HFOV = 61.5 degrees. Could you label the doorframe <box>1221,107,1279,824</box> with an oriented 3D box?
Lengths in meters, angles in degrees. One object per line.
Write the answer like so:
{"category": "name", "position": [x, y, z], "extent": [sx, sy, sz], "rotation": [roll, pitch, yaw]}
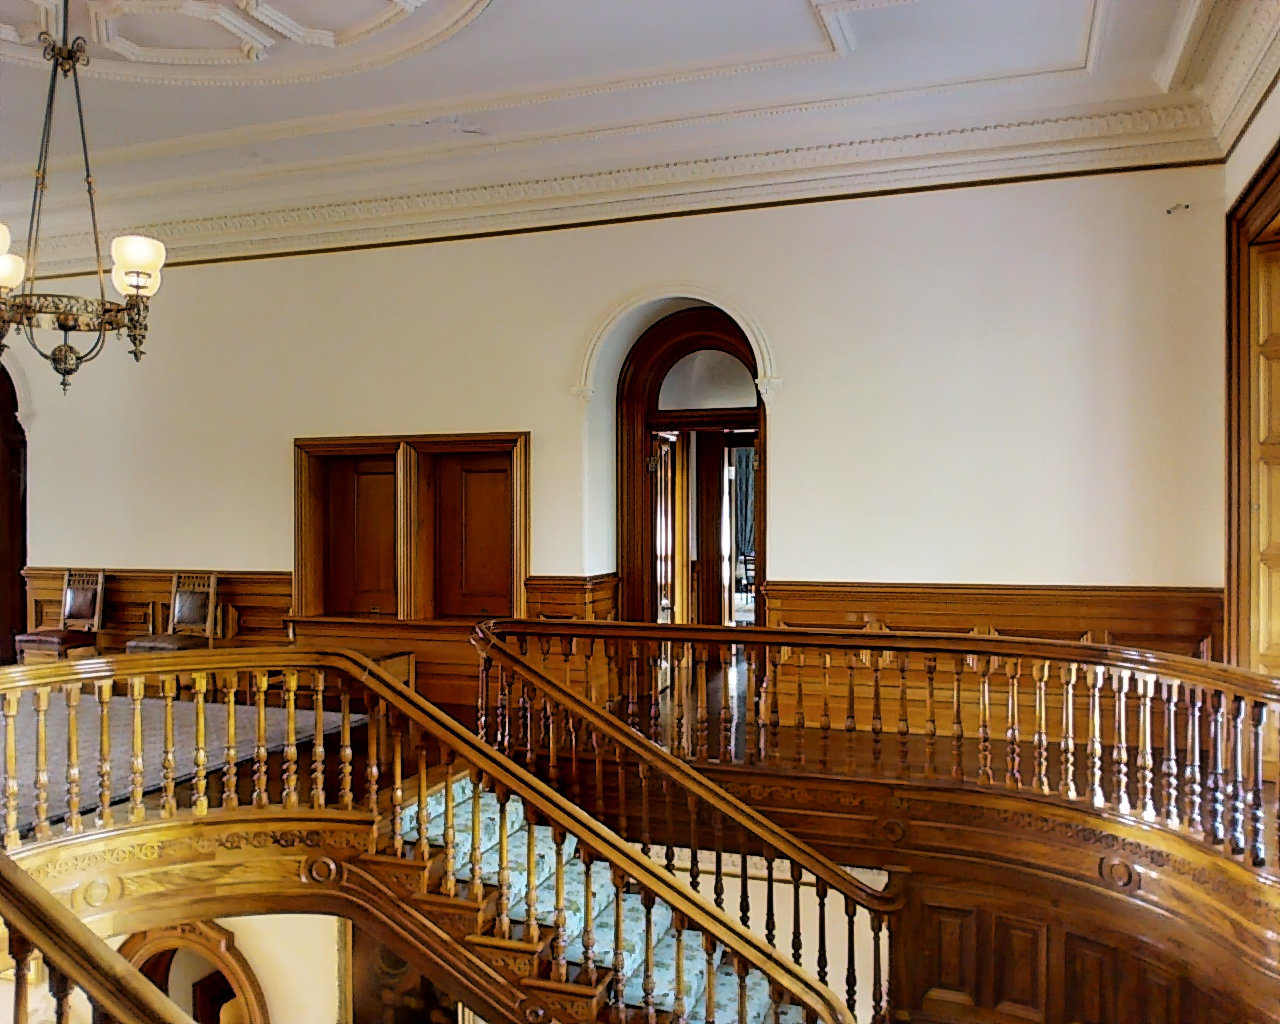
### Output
{"category": "doorframe", "position": [3.430, -0.200, 5.510], "extent": [0.470, 3.390, 1.960], "rotation": [-1, 0, 20]}

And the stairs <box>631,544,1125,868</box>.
{"category": "stairs", "position": [1.370, 0.990, 6.310], "extent": [2.590, 1.570, 1.160], "rotation": [-1, 0, 19]}
